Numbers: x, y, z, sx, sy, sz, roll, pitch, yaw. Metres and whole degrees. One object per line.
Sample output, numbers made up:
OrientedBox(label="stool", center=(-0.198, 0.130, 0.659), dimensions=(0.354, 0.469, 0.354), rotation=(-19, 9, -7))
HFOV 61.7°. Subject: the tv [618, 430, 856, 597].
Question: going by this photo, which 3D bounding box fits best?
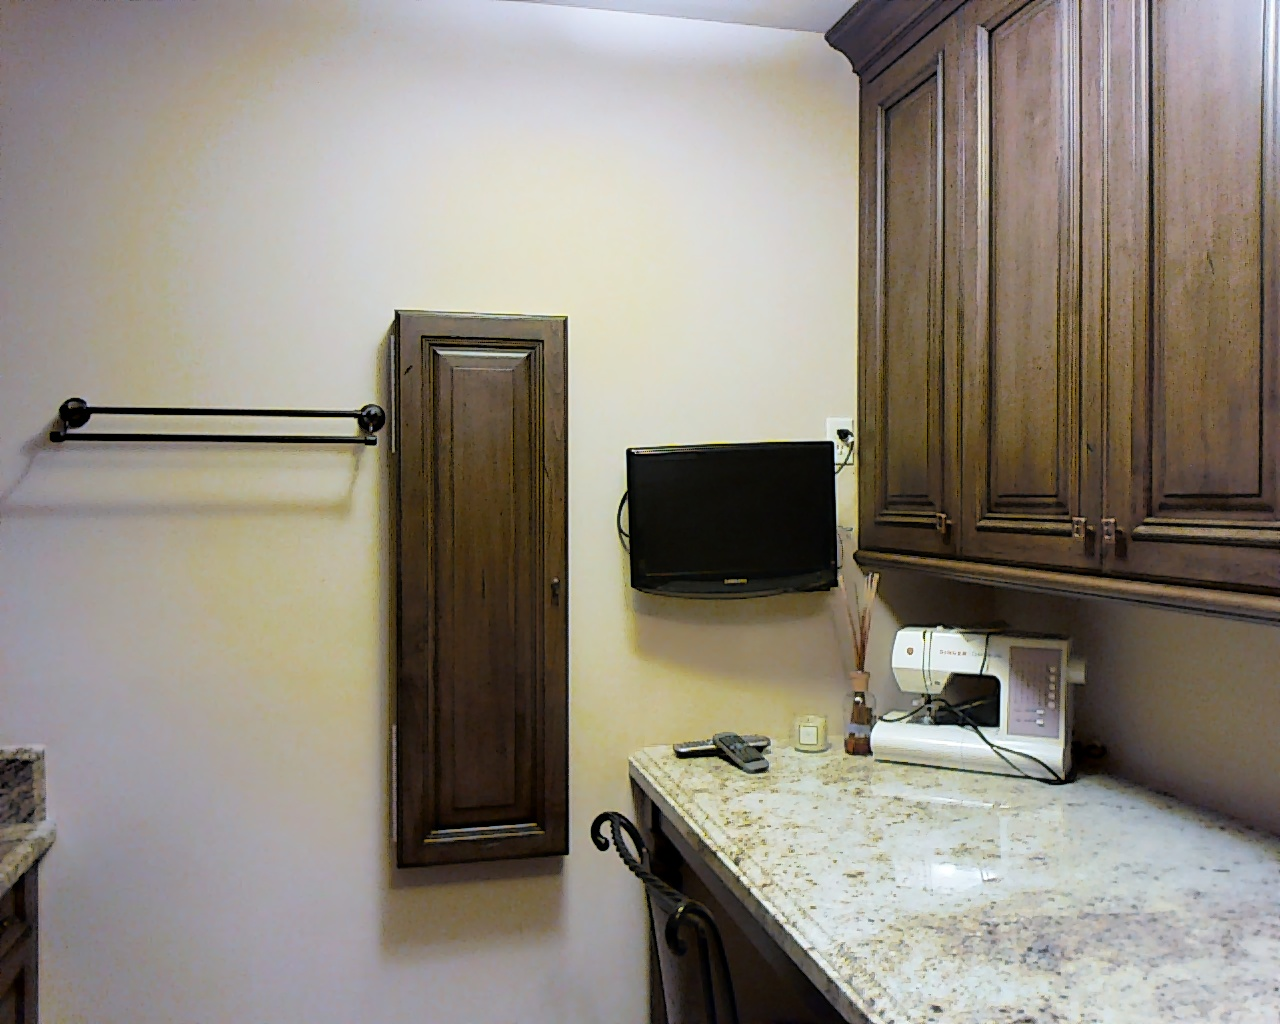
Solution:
OrientedBox(label="tv", center=(0.220, 0.000, 2.480), dimensions=(0.500, 0.360, 0.230), rotation=(0, 1, -14))
